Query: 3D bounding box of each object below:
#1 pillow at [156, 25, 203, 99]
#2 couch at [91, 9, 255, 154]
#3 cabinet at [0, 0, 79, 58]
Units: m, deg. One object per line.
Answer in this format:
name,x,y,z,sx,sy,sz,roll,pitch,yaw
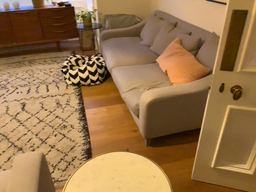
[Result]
pillow,0.480,-0.330,2.100,0.190,0.370,0.610,-6,69,-10
couch,0.260,-0.450,2.590,1.090,0.750,2.140,-9,33,-12
cabinet,-2.050,-1.210,3.840,2.120,0.760,0.740,-9,33,-13
